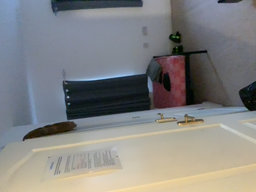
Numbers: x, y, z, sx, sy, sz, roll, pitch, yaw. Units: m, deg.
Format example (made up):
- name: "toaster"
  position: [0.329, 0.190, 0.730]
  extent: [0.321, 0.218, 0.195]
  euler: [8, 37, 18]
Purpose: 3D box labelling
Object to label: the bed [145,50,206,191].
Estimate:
- name: "bed"
  position: [0.720, 0.360, 3.390]
  extent: [1.060, 0.480, 2.030]
  euler: [-147, 52, -76]
